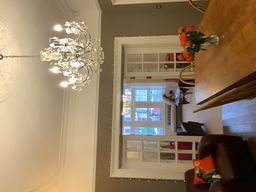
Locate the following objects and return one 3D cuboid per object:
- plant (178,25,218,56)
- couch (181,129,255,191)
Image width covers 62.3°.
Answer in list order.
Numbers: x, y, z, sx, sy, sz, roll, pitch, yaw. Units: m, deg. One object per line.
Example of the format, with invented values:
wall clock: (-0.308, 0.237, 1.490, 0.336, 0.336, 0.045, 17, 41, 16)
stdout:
plant: (0.650, -0.520, 2.000, 0.310, 0.230, 0.180, 1, 168, 2)
couch: (1.280, 1.160, 3.080, 0.810, 0.960, 0.920, 1, 127, 5)
